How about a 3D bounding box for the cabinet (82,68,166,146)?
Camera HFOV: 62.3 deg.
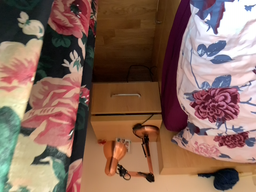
[{"bbox_3d":[-0.020,0.090,1.380,0.440,0.330,0.430,-1,148,0],"label":"cabinet"}]
